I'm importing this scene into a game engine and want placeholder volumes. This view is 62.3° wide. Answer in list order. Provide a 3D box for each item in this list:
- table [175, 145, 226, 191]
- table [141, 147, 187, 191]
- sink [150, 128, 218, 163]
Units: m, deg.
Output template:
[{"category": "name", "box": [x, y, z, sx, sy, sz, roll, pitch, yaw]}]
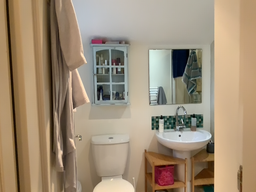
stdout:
[{"category": "table", "box": [0.770, 0.890, 2.310, 0.400, 0.590, 0.360, -2, 5, -8]}, {"category": "table", "box": [0.370, 0.900, 2.250, 0.380, 0.580, 0.370, -2, 5, -8]}, {"category": "sink", "box": [0.550, 0.490, 2.190, 0.540, 0.180, 0.470, -2, 5, -8]}]
